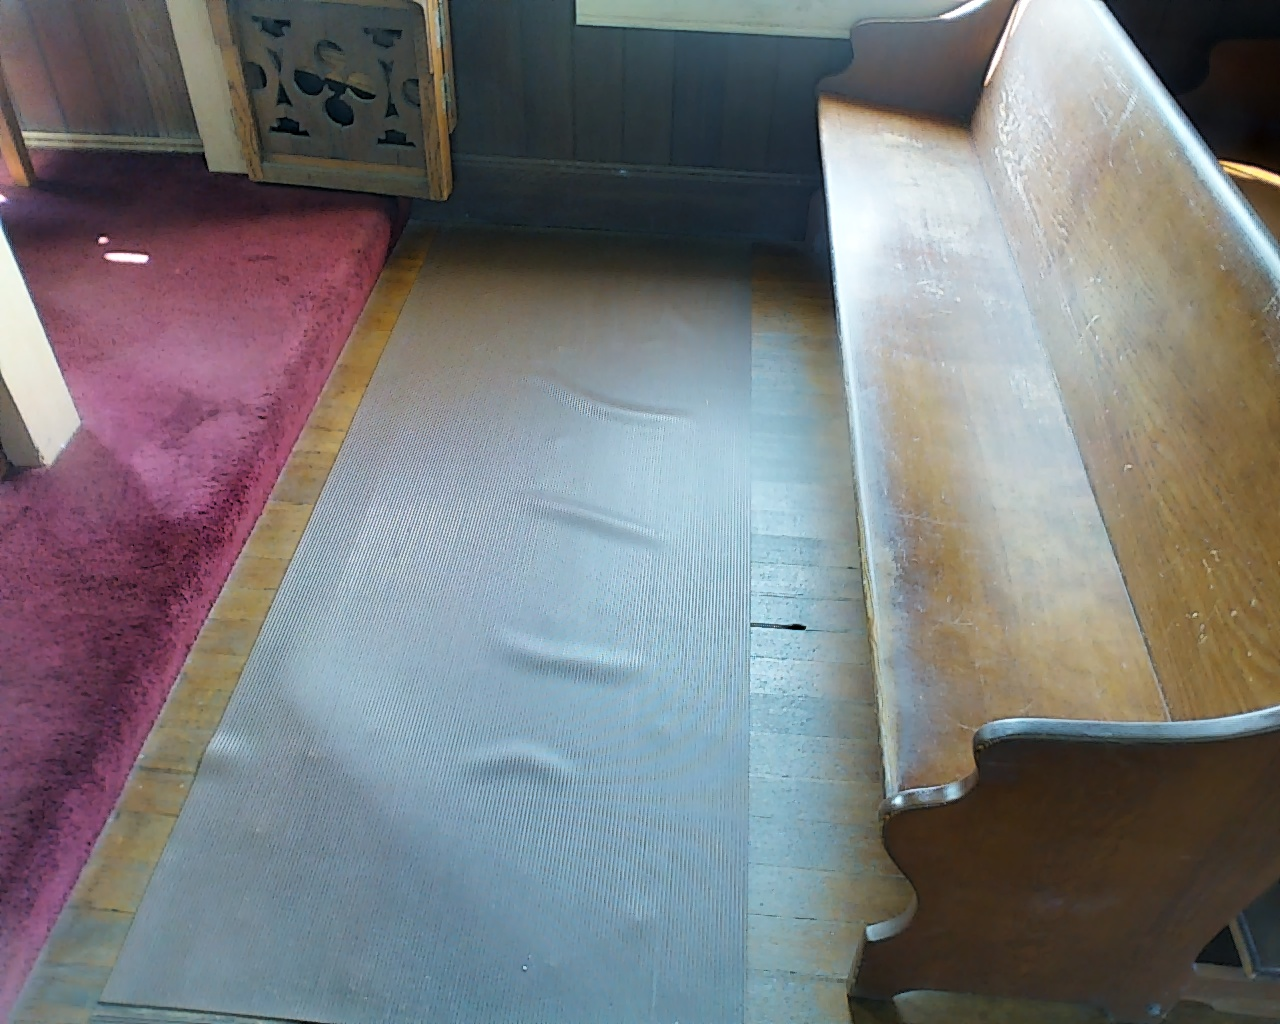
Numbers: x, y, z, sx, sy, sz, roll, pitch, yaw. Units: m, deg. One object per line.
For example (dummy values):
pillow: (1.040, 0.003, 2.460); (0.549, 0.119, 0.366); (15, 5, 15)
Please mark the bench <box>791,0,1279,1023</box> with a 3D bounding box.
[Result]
bench: (0.650, -0.340, 2.030); (0.590, 0.880, 2.220); (4, 42, 3)
